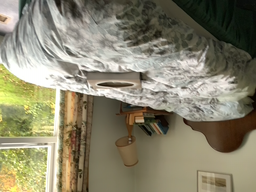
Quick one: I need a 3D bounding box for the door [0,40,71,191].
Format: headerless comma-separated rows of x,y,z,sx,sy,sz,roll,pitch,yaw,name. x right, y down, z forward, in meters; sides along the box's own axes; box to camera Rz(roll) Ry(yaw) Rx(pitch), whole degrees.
-1.310,0.510,1.930,0.110,2.150,1.630,-11,166,43,door

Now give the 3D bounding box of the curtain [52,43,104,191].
-0.500,0.620,2.210,0.200,2.280,0.480,-10,166,40,curtain
